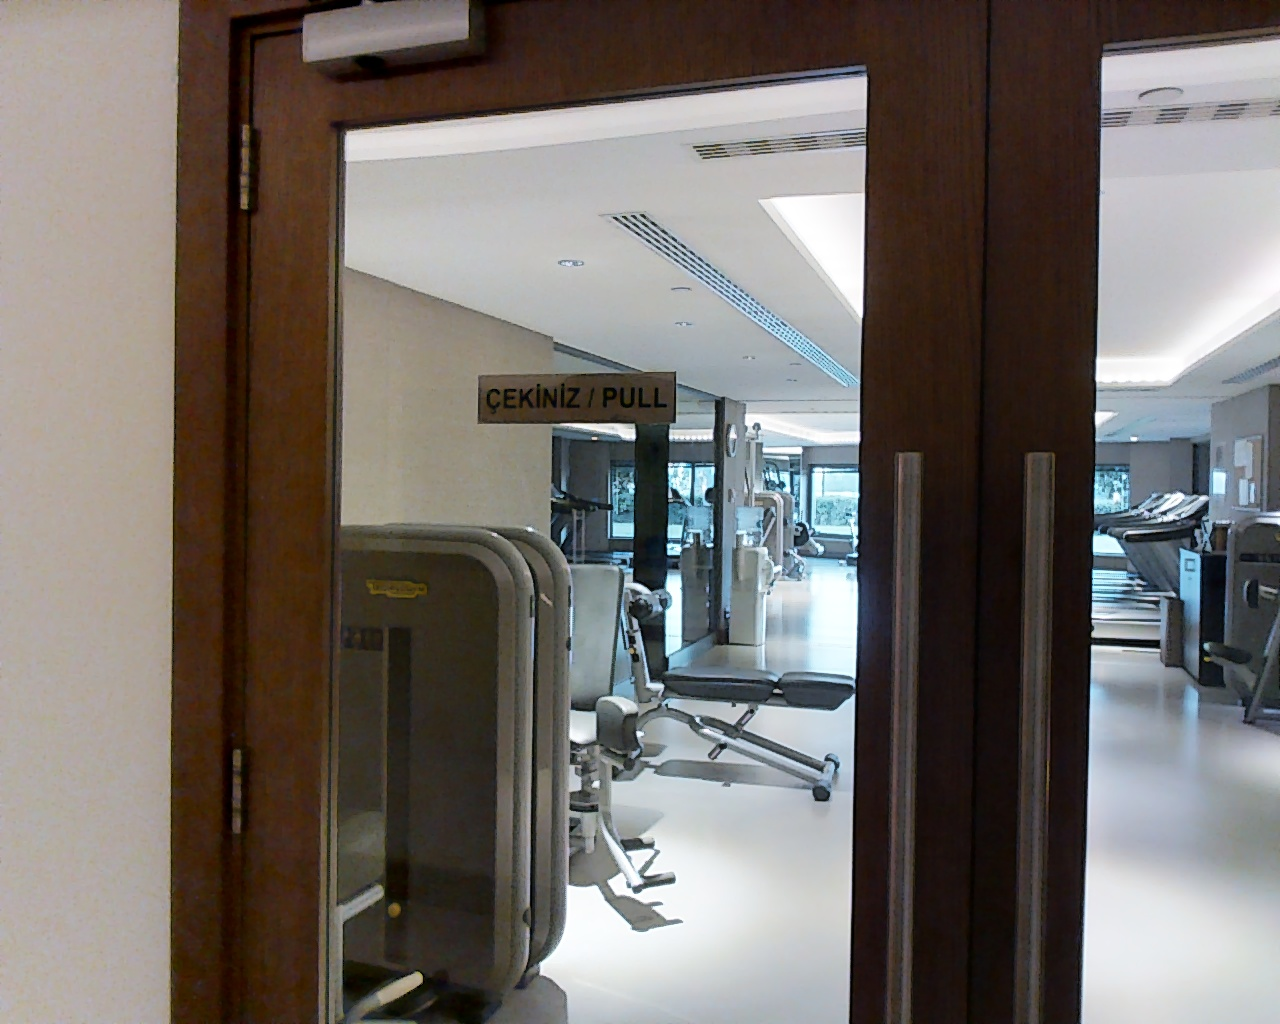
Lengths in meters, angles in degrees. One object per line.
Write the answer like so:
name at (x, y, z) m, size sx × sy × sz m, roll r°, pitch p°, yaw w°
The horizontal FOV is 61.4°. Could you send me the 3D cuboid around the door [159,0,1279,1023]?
door at (0.360, 0.460, 1.160) m, size 2.020 × 2.220 × 0.160 m, roll 1°, pitch 1°, yaw 18°
